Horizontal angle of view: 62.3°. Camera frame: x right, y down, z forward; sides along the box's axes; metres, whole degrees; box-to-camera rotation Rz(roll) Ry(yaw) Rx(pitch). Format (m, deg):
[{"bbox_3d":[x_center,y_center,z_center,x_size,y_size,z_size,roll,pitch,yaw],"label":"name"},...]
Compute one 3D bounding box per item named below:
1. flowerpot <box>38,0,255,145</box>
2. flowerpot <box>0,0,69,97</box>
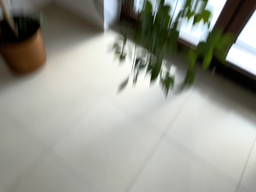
[{"bbox_3d":[0.090,-0.620,1.100,0.730,1.300,1.120,-36,66,-26],"label":"flowerpot"},{"bbox_3d":[-0.690,-0.420,1.400,0.330,0.810,0.350,34,59,16],"label":"flowerpot"}]
